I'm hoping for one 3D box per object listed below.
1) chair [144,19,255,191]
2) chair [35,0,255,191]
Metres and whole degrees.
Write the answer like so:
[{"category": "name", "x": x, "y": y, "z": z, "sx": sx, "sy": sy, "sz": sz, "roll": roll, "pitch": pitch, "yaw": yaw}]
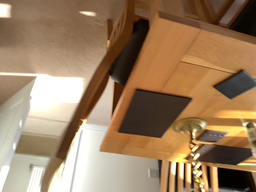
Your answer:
[{"category": "chair", "x": 0.430, "y": 0.140, "z": 1.300, "sx": 0.440, "sy": 1.030, "sz": 0.610, "roll": 10, "pitch": 142, "yaw": -12}, {"category": "chair", "x": 0.020, "y": -0.110, "z": 0.960, "sx": 0.560, "sy": 1.050, "sz": 0.410, "roll": 13, "pitch": 141, "yaw": -16}]
